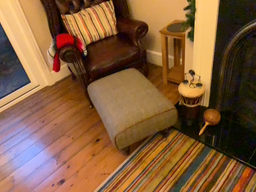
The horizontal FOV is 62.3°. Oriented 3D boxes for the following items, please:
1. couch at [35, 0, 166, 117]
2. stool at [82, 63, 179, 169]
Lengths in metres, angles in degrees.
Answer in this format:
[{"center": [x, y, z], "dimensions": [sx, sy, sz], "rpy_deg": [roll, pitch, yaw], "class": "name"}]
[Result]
[{"center": [-0.310, -0.660, 2.210], "dimensions": [0.940, 1.080, 1.040], "rpy_deg": [-22, 39, -14], "class": "couch"}, {"center": [0.000, 0.110, 1.730], "dimensions": [0.510, 0.360, 0.690], "rpy_deg": [-22, 39, -14], "class": "stool"}]
